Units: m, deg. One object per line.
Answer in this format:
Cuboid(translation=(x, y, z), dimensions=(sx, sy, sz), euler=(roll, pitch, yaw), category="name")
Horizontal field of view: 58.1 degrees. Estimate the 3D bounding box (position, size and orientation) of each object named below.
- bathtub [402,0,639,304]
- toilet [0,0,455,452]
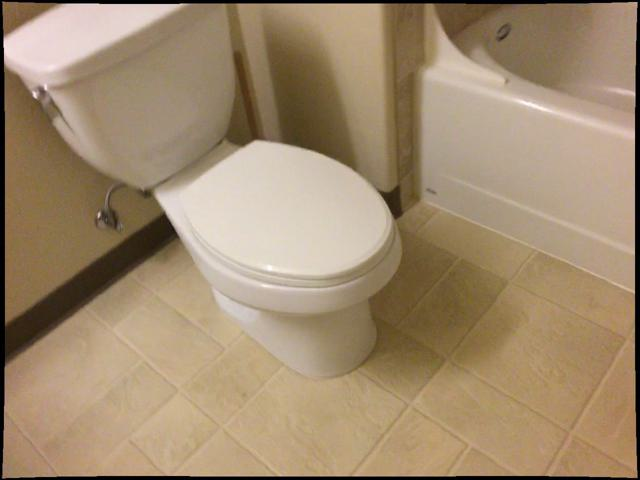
Cuboid(translation=(1.047, -0.261, 1.440), dimensions=(1.478, 0.571, 0.780), euler=(26, 54, 30), category="bathtub")
Cuboid(translation=(-0.180, -0.100, 1.320), dimensions=(0.779, 0.791, 0.480), euler=(26, 54, 30), category="toilet")
